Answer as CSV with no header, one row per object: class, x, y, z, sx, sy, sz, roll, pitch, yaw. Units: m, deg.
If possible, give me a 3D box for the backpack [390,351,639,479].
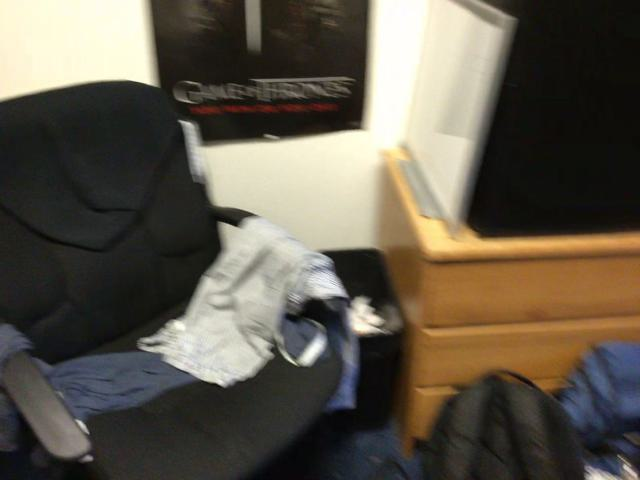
backpack,0.420,0.540,1.290,0.430,0.370,0.420,-2,29,-5
